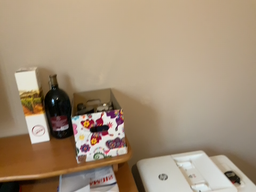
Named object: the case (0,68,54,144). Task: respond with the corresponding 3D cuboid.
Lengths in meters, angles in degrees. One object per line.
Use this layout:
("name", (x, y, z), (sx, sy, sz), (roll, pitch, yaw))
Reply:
("case", (-0.440, 0.040, 0.940), (0.140, 0.290, 0.150), (-5, 19, -6))

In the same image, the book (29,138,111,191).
("book", (-0.220, 0.310, 0.880), (0.280, 0.070, 0.340), (-6, 19, -7))
